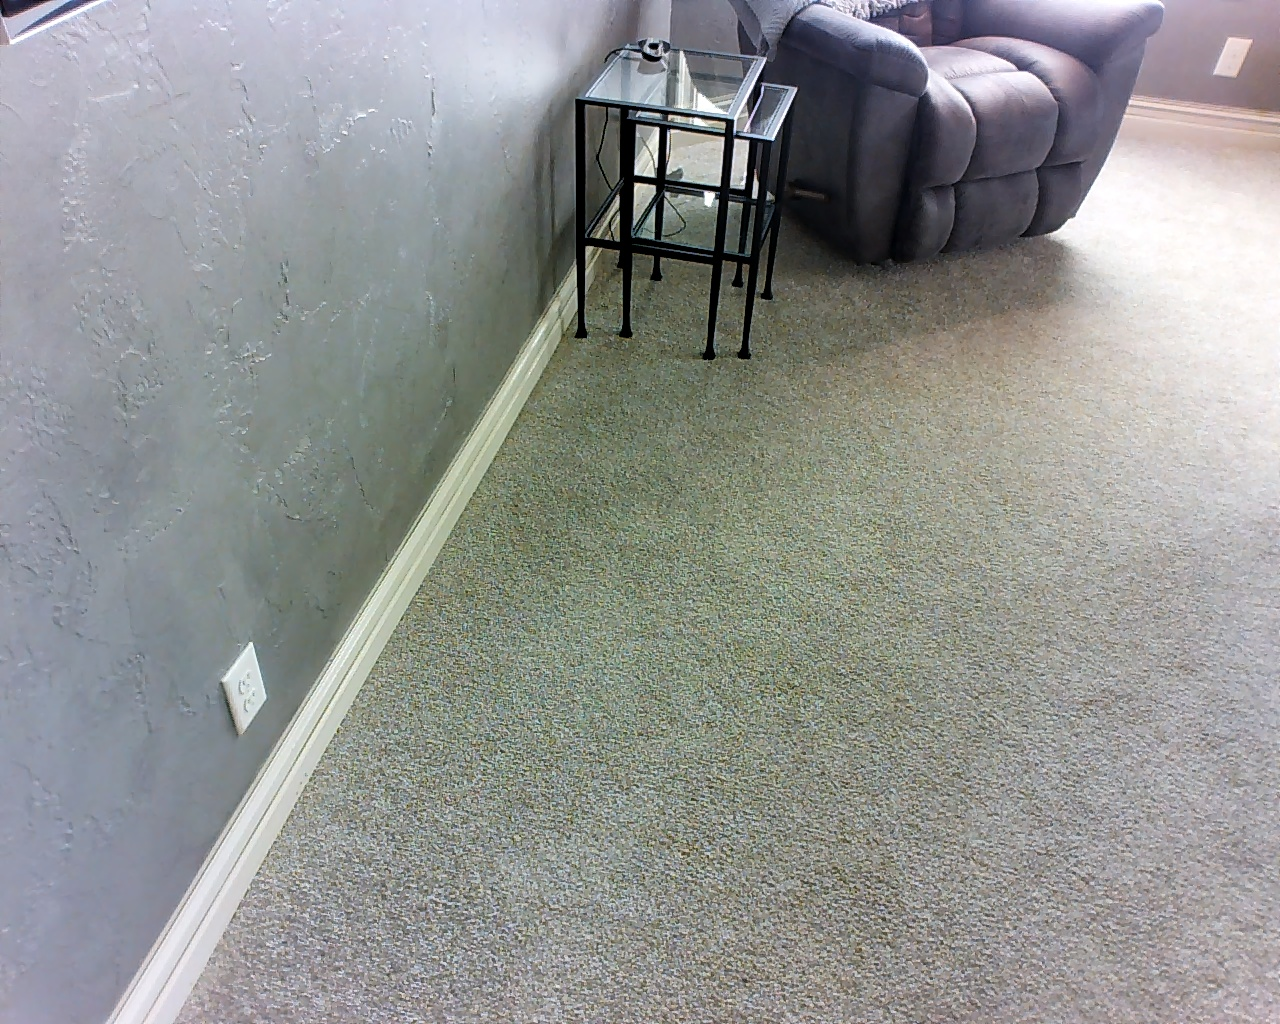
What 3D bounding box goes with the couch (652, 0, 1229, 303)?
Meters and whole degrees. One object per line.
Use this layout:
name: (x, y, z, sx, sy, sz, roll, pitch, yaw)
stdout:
couch: (0.810, -1.450, 3.080, 1.080, 1.050, 1.140, -19, 46, -23)
